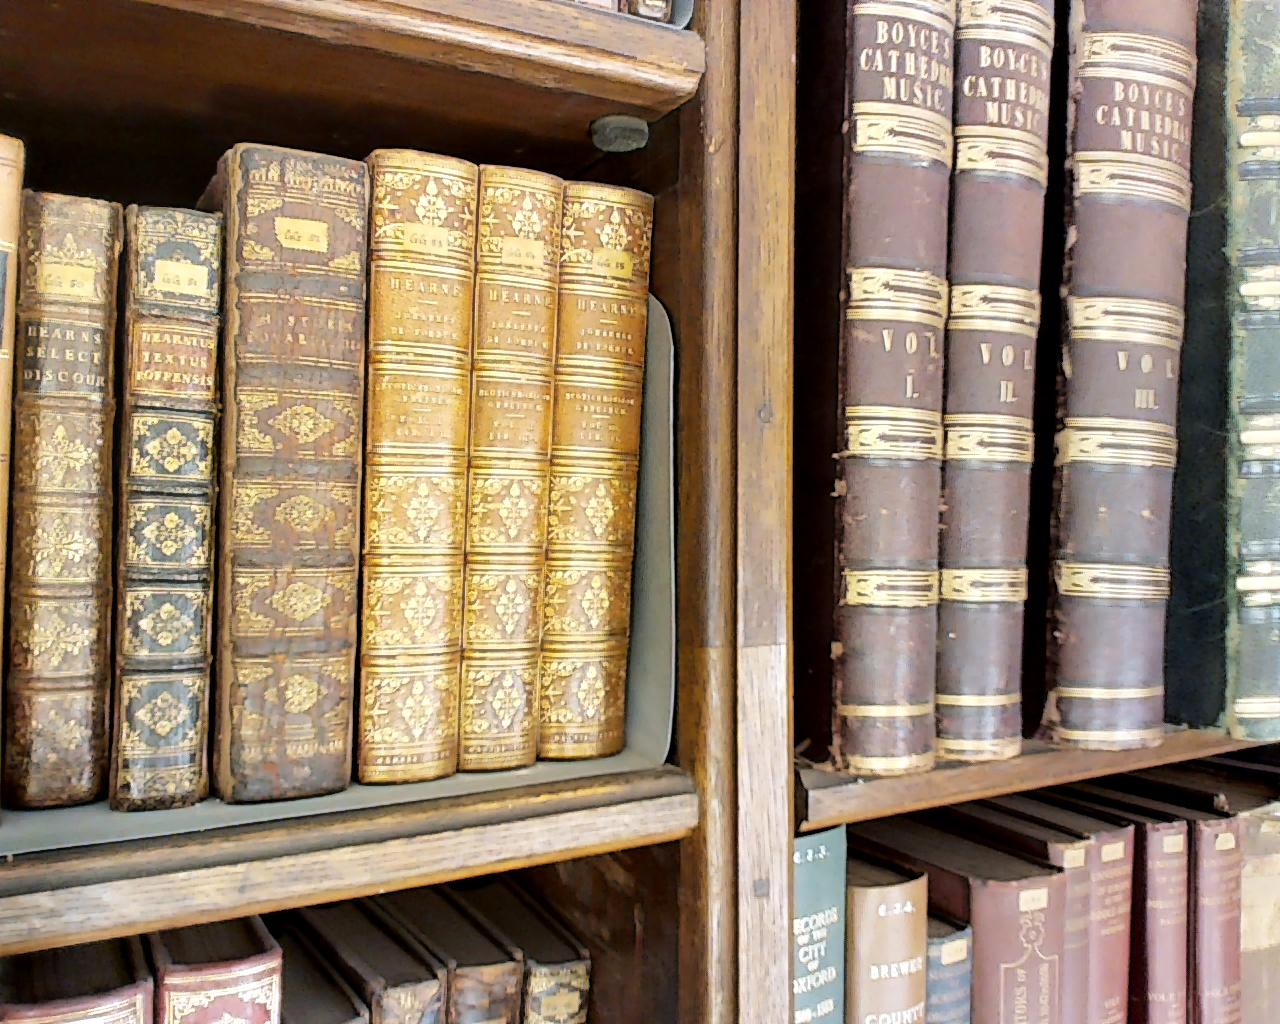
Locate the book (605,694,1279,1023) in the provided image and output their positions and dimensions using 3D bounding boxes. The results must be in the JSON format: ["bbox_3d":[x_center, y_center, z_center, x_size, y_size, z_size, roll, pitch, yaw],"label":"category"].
[{"bbox_3d":[0.360,0.280,0.720,0.780,0.250,0.160,0,0,-29],"label":"book"}]
